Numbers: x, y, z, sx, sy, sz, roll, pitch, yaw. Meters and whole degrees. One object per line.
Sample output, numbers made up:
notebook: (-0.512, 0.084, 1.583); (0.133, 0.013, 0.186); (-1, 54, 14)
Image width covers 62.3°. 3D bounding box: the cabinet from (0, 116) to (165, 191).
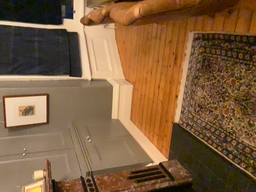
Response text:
cabinet: (-0.820, 0.730, 2.590); (1.150, 2.210, 0.410); (-142, 54, -61)
